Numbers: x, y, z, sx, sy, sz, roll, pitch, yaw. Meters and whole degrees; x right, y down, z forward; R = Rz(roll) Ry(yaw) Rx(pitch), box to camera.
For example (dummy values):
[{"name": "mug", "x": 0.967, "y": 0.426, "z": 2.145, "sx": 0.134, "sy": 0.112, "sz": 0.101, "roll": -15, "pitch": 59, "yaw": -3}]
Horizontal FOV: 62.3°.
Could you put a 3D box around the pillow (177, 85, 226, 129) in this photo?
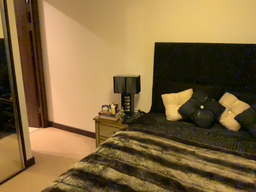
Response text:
[{"name": "pillow", "x": 0.650, "y": 0.100, "z": 1.900, "sx": 0.130, "sy": 0.300, "sz": 0.250, "roll": -40, "pitch": -11, "yaw": -37}]
